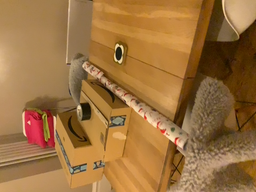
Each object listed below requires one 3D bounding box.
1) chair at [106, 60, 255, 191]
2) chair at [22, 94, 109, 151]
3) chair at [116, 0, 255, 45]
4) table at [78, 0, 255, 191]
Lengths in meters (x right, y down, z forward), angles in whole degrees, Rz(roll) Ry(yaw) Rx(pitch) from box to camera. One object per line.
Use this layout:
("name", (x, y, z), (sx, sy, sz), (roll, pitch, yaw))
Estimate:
("chair", (0.400, 0.100, 1.040), (0.510, 0.840, 0.450), (29, 118, 53))
("chair", (-0.860, 0.310, 2.920), (0.550, 1.020, 0.460), (35, 123, 51))
("chair", (0.460, -0.460, 0.870), (0.510, 0.840, 0.450), (29, 118, 53))
("table", (0.270, -0.260, 1.300), (0.950, 0.740, 1.640), (37, 124, 51))
